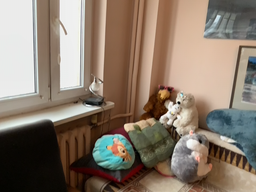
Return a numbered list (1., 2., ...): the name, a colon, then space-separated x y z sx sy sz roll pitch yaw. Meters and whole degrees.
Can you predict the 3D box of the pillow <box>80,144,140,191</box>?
1. pillow: -0.130 0.530 1.570 0.300 0.160 0.310 14 16 33
